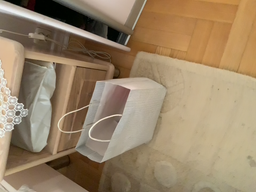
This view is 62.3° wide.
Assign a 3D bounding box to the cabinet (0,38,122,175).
[{"bbox_3d":[-0.360,-0.010,0.890,0.390,0.510,0.360,20,101,27],"label":"cabinet"}]
